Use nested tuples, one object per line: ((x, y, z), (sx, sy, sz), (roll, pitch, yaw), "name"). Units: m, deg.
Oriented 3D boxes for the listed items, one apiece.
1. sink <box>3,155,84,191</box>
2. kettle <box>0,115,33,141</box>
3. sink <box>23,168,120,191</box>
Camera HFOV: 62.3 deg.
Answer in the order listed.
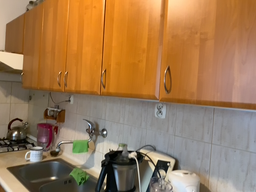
((-0.630, 0.610, 1.590), (0.380, 0.170, 0.440), (5, 2, 44), "sink")
((-1.300, 0.360, 2.470), (0.220, 0.250, 0.280), (5, 2, 42), "kettle")
((-0.350, 0.640, 1.320), (0.390, 0.170, 0.440), (5, 2, 44), "sink")
